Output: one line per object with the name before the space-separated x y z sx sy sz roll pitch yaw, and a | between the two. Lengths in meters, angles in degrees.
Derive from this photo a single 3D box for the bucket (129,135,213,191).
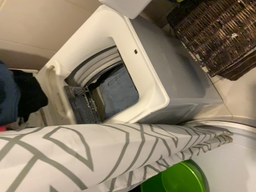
bucket | 0.250 0.500 1.220 0.330 0.140 0.420 -38 69 28

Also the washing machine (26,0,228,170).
washing machine | 0.070 -0.030 1.070 0.520 0.840 0.420 -35 70 29
